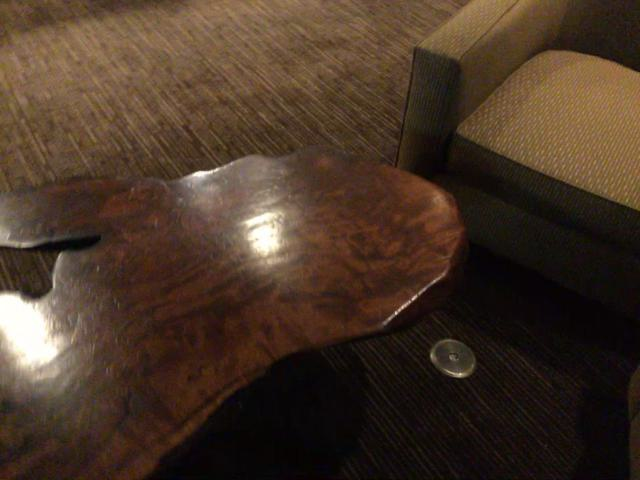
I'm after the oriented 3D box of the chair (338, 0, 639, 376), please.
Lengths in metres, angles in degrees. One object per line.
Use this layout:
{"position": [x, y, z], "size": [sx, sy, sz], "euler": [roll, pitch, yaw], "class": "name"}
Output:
{"position": [0.790, -0.410, 1.560], "size": [1.030, 0.860, 1.020], "euler": [27, 48, 20], "class": "chair"}
